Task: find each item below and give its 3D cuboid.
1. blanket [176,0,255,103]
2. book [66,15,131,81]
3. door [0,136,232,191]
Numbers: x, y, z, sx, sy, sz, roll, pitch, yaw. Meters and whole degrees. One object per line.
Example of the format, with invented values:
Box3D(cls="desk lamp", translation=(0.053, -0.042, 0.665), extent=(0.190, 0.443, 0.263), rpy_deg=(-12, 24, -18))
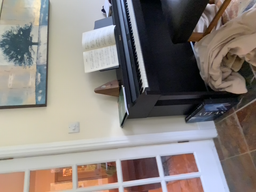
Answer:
Box3D(cls="blanket", translation=(0.700, -0.430, 1.530), extent=(0.720, 0.290, 0.730), rpy_deg=(116, 150, -63))
Box3D(cls="book", translation=(-0.270, -0.440, 1.900), extent=(0.500, 0.370, 0.190), rpy_deg=(59, 157, 18))
Box3D(cls="door", translation=(-0.210, 0.700, 1.610), extent=(0.220, 2.030, 0.590), rpy_deg=(112, 153, -60))
